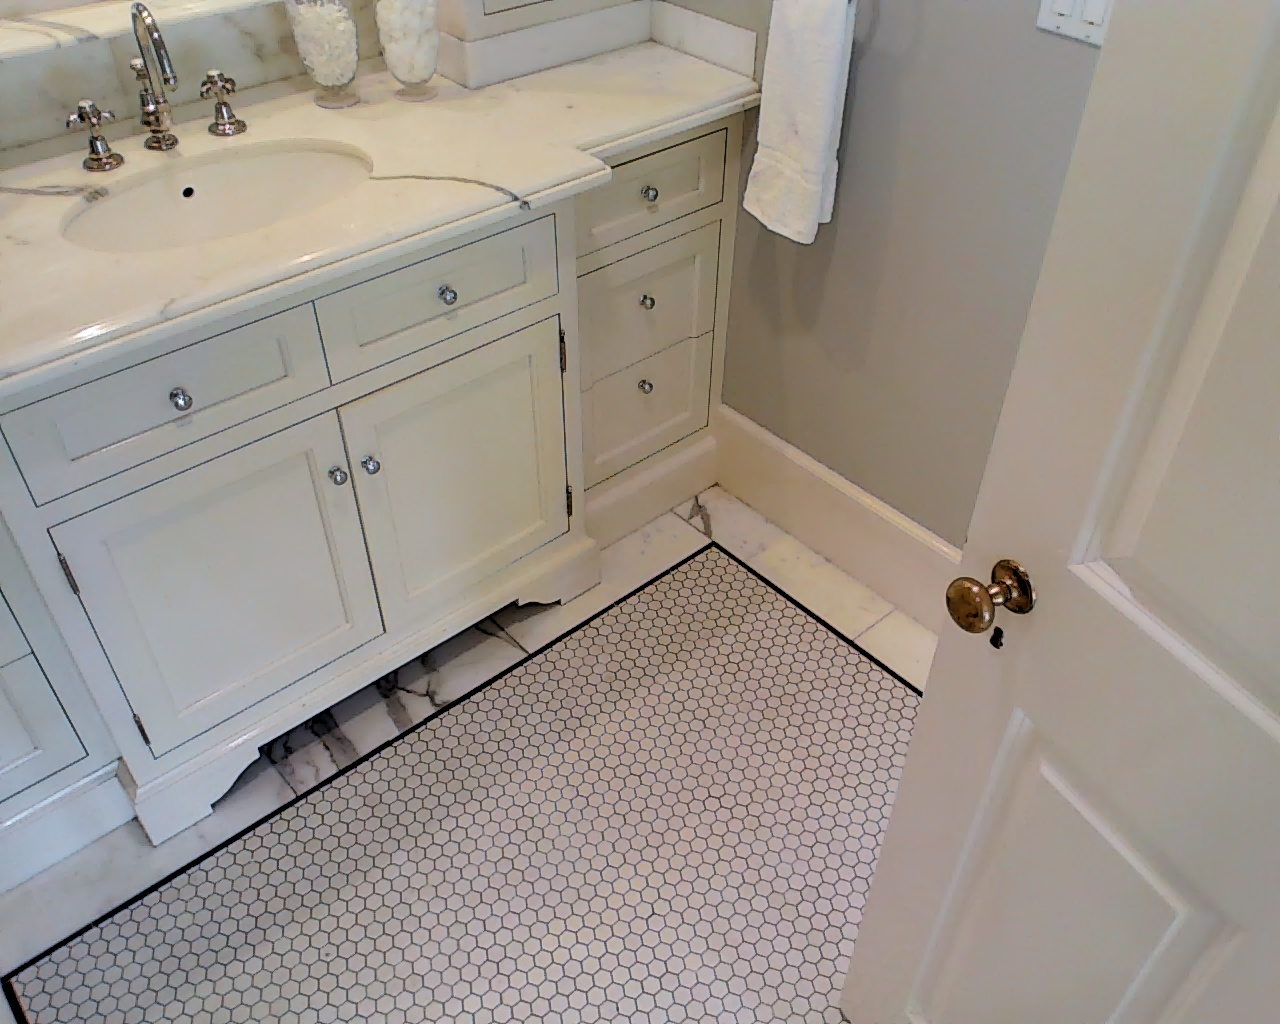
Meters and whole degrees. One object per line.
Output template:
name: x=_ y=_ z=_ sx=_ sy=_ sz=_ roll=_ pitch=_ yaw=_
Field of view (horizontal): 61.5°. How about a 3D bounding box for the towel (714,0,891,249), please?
towel: x=0.260 y=-0.700 z=1.770 sx=0.140 sy=0.450 sz=0.220 roll=-30 pitch=49 yaw=-29
